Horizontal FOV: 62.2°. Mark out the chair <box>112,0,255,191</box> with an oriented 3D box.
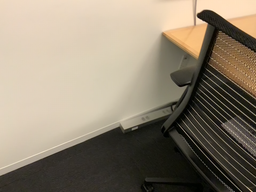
[{"bbox_3d":[0.490,0.170,0.990,0.730,1.040,0.810,-20,49,-29],"label":"chair"}]
